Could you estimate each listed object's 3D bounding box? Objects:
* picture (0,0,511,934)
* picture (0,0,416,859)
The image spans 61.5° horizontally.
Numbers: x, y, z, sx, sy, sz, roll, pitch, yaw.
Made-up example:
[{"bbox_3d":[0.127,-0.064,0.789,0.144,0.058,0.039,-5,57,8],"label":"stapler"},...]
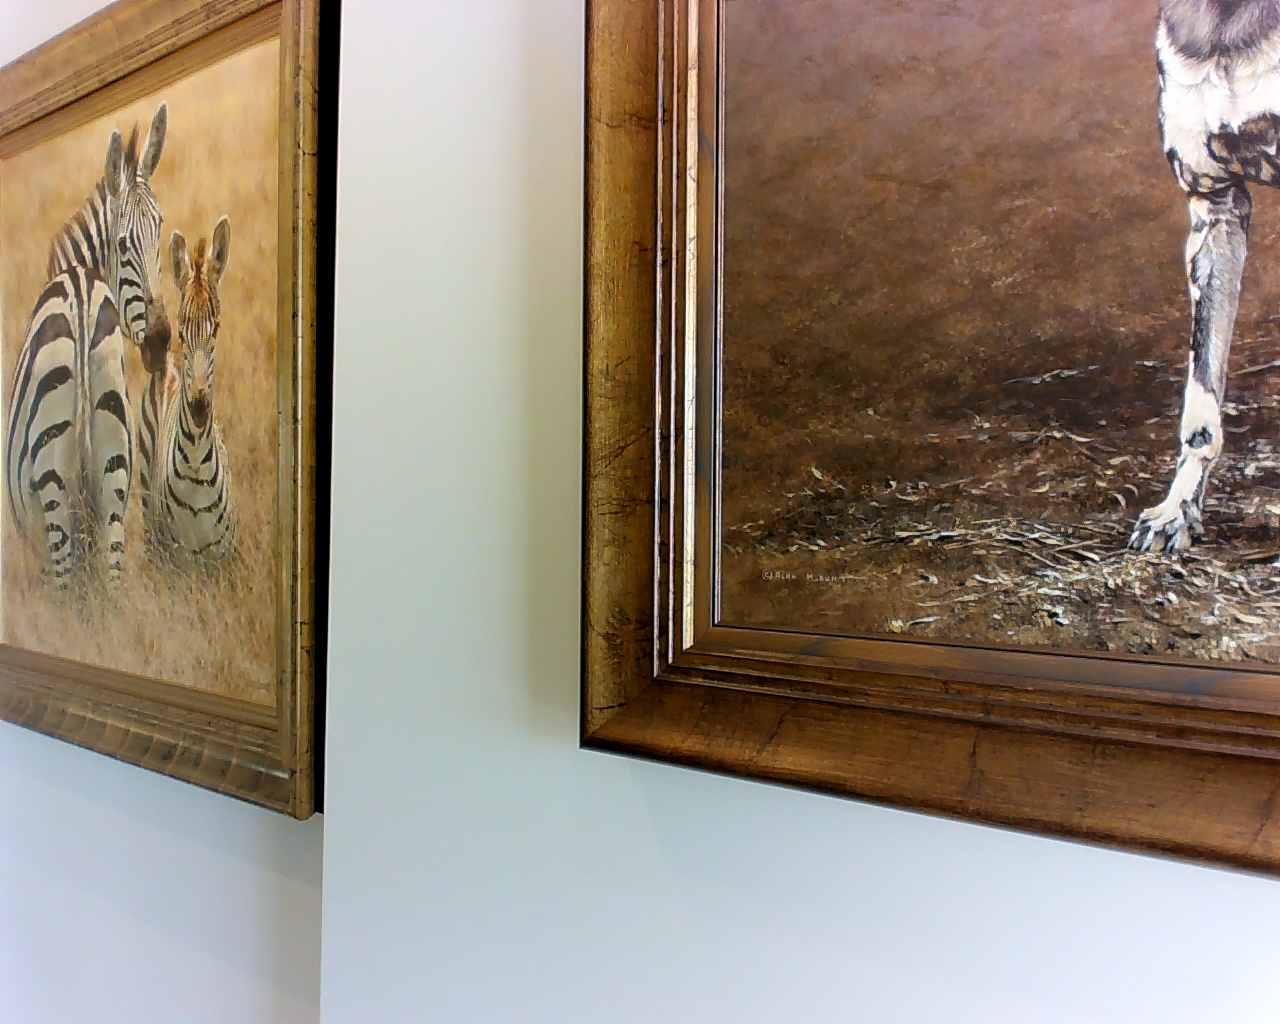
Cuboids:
[{"bbox_3d":[-0.840,-0.220,1.680,1.230,1.320,0.050,-43,-26,30],"label":"picture"},{"bbox_3d":[-0.800,-0.220,1.690,1.200,1.240,0.120,1,0,38],"label":"picture"}]
